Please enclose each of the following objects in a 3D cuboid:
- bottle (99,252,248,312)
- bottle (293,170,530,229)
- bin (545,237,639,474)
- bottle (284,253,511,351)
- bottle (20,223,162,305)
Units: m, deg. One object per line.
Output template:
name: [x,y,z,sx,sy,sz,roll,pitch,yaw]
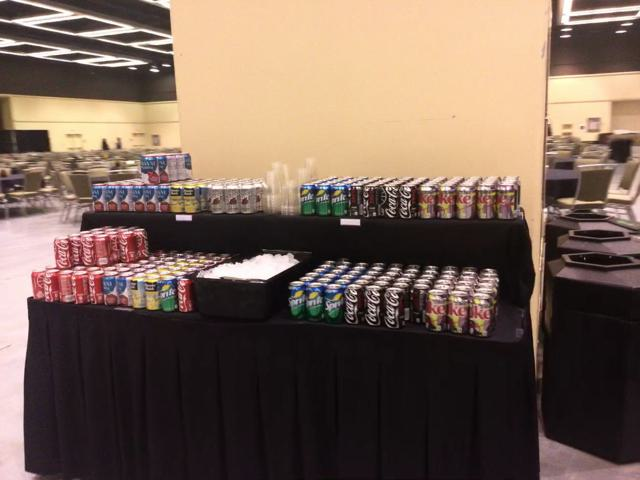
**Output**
bottle: [-0.550,0.150,2.240,0.380,0.130,0.420,0,9,21]
bottle: [0.360,-0.170,2.180,0.800,0.160,0.470,3,10,20]
bin: [1.260,0.430,2.350,0.600,0.800,0.560,-3,8,21]
bottle: [0.280,0.180,1.930,0.660,0.170,0.470,2,10,20]
bottle: [-0.900,0.080,2.320,0.320,0.230,0.420,4,10,20]
